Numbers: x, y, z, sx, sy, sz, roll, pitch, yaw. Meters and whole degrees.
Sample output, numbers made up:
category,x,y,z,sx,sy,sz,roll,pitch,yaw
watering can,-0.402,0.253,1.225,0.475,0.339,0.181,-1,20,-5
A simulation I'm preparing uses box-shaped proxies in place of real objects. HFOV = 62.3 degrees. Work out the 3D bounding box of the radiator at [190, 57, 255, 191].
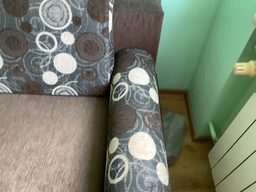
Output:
category,x,y,z,sx,sy,sz,roll,pitch,yaw
radiator,0.410,0.320,0.770,0.110,0.700,0.570,3,51,0
